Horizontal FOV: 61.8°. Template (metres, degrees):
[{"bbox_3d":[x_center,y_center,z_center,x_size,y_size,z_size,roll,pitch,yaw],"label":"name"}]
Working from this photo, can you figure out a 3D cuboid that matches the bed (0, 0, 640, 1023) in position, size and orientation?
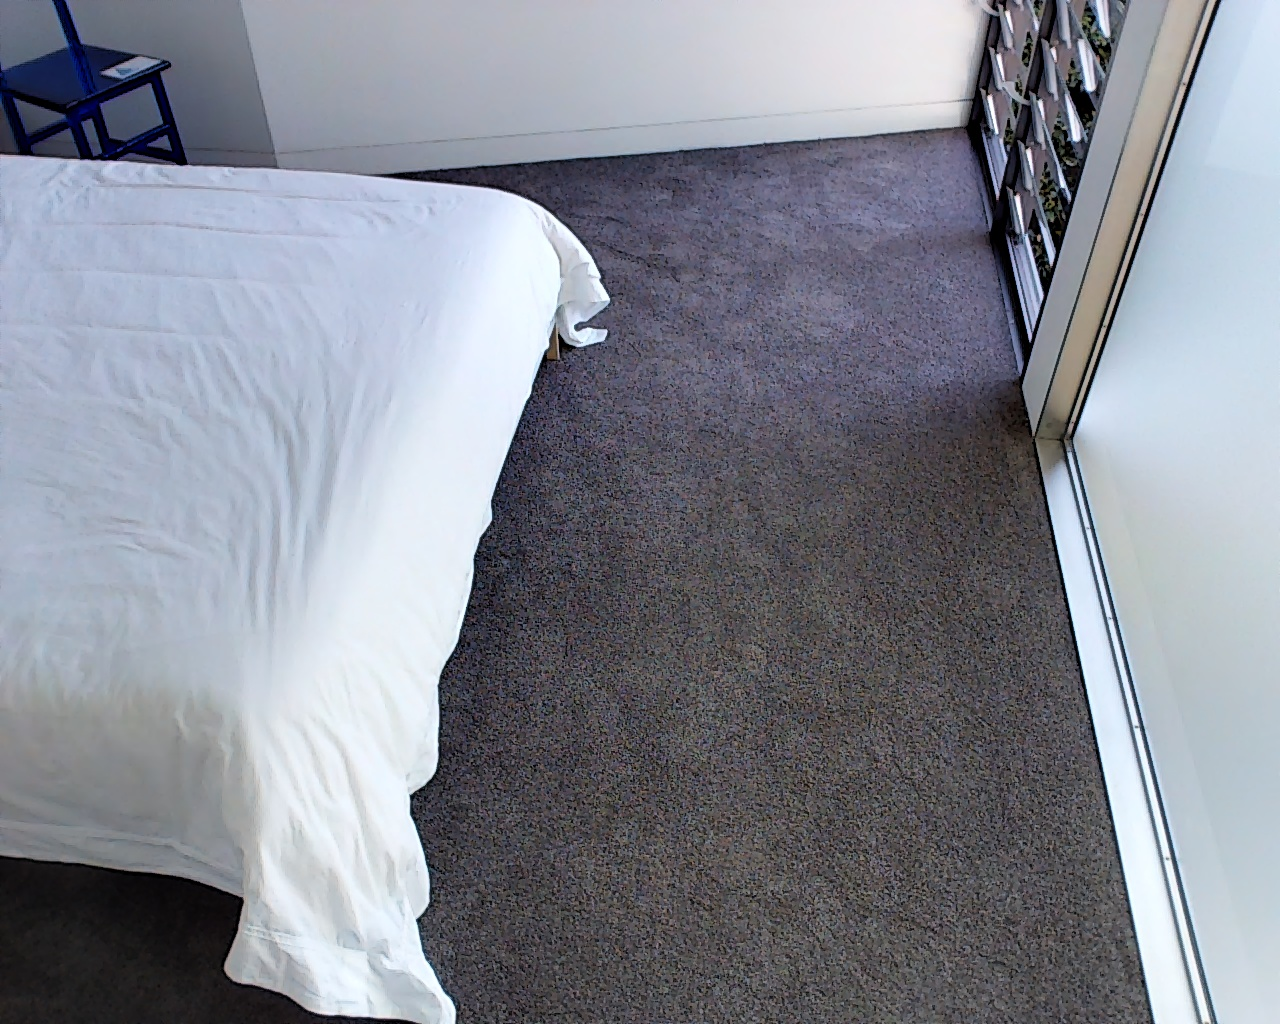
[{"bbox_3d":[-1.300,-0.340,1.960,2.330,0.990,1.940,5,42,7],"label":"bed"}]
